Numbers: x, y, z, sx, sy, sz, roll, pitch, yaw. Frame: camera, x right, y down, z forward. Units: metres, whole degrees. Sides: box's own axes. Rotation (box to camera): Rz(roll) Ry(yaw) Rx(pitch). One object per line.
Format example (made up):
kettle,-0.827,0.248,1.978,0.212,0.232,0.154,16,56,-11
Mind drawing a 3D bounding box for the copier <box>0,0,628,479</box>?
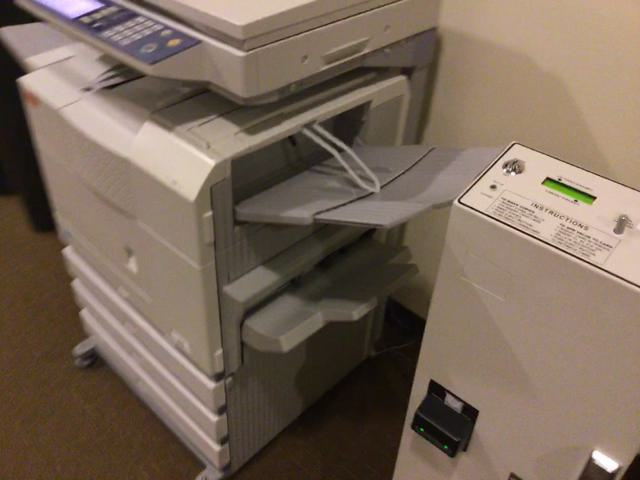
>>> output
copier,-0.160,-0.120,1.300,1.160,1.150,0.730,27,42,36
